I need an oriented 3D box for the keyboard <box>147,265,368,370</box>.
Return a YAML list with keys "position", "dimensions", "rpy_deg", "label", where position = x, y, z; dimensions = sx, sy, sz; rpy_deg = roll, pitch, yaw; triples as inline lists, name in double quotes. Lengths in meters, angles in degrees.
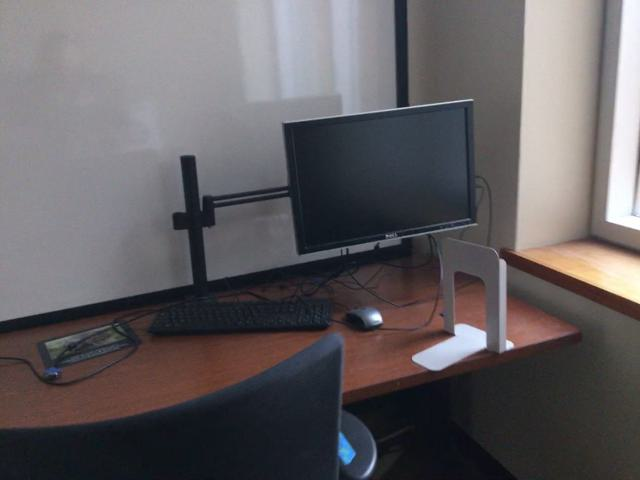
- position: [-0.180, 0.180, 1.500]
  dimensions: [0.500, 0.040, 0.380]
  rpy_deg: [-9, 18, -16]
  label: "keyboard"
